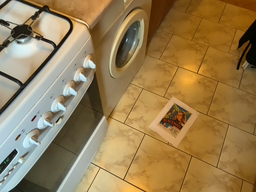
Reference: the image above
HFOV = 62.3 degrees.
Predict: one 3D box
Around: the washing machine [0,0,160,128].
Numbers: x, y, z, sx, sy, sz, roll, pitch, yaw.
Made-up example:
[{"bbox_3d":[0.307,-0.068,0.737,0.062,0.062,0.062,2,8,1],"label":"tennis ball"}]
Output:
[{"bbox_3d":[-0.220,-0.360,1.170,0.570,0.850,0.620,24,63,12],"label":"washing machine"}]
